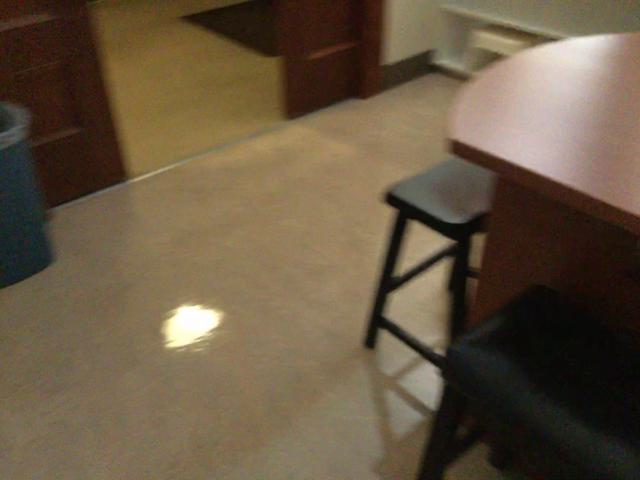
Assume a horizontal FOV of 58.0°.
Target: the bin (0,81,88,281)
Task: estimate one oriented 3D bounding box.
[{"bbox_3d":[-1.160,-0.190,2.020,0.430,0.530,0.370,-25,41,-22],"label":"bin"}]
